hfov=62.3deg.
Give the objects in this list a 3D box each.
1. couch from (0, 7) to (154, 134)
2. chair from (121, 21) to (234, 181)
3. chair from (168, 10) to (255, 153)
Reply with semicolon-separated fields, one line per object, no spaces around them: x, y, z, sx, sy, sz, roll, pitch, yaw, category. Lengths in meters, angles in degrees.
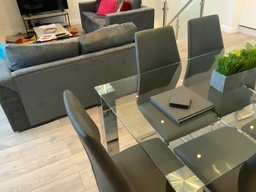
-0.690;-0.460;2.620;1.730;0.860;0.980;-19;36;-23;couch
0.310;0.030;1.660;0.460;1.020;0.570;-18;36;-22;chair
0.740;-0.130;1.860;0.460;1.030;0.560;-18;36;-22;chair
